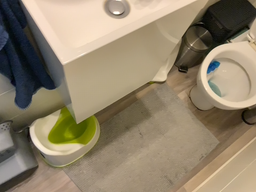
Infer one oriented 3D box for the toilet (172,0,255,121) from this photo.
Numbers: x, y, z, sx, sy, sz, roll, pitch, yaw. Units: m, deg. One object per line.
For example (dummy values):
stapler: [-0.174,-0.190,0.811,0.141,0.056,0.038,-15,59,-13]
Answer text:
toilet: [0.700,-0.270,1.130,0.610,0.730,0.370,-32,78,-19]
